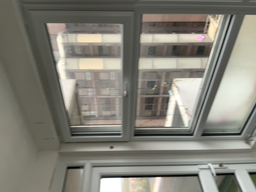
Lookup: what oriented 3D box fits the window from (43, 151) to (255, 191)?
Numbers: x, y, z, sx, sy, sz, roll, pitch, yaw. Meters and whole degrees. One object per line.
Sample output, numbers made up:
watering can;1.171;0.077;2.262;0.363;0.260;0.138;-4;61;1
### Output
window;0.490;0.770;1.580;0.740;2.220;0.110;-93;3;-48
